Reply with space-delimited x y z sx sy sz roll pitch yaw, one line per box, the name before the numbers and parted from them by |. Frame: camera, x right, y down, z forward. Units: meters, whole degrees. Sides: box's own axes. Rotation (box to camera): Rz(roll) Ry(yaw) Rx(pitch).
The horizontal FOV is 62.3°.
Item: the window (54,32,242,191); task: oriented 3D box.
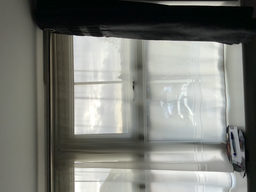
window | 0.120 0.350 1.310 0.090 1.110 1.480 107 163 -86
